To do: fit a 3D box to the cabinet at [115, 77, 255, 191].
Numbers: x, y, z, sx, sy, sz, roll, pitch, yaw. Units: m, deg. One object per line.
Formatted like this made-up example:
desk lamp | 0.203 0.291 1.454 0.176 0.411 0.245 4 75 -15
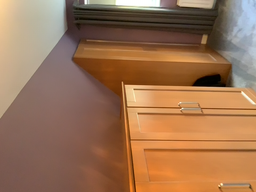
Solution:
cabinet | 0.660 0.570 1.770 1.840 1.490 0.670 -97 10 -59
